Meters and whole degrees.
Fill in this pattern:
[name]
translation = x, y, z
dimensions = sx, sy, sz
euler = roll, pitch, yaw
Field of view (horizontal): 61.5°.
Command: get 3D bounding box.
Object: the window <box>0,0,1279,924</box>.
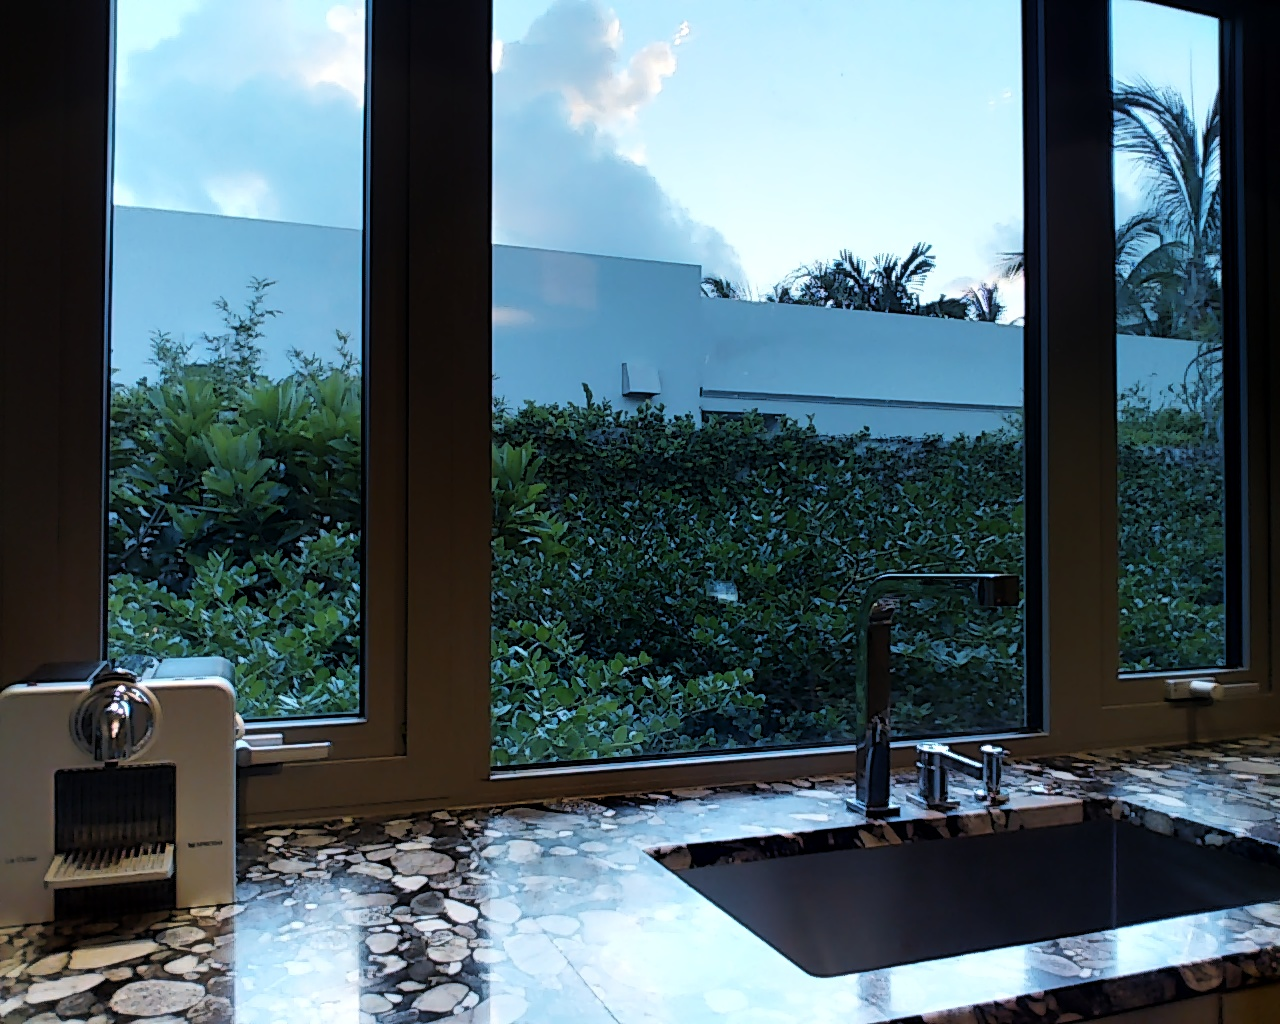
[window]
translation = 0.320, -0.360, 1.640
dimensions = 2.280, 1.550, 0.380
euler = 0, -1, -21
